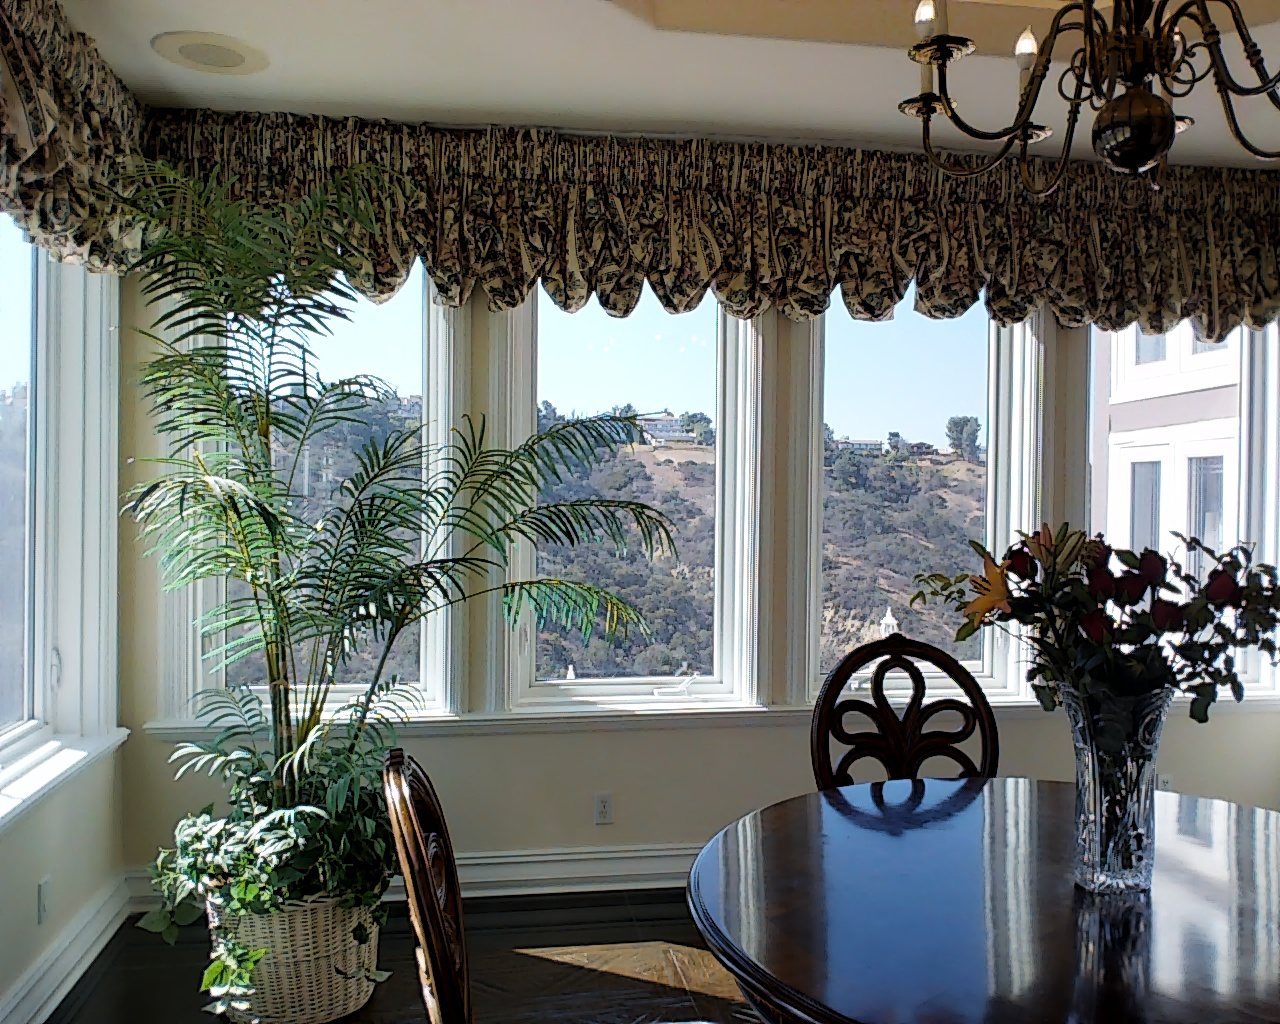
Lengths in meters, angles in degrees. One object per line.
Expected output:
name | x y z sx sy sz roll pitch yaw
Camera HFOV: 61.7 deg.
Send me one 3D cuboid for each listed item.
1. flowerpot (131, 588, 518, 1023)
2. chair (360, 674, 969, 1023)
flowerpot | -0.890 0.840 3.030 0.780 1.160 0.730 2 1 40
chair | -0.040 0.860 1.680 0.760 1.070 0.750 1 1 -15
